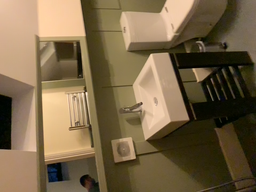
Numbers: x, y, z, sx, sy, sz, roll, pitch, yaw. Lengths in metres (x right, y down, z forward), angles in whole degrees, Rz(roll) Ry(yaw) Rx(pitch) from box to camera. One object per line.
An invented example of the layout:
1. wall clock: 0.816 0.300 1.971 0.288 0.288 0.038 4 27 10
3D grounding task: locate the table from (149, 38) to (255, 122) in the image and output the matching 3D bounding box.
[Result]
1. table: 0.640 -0.140 1.790 0.420 0.710 0.530 120 141 -61
